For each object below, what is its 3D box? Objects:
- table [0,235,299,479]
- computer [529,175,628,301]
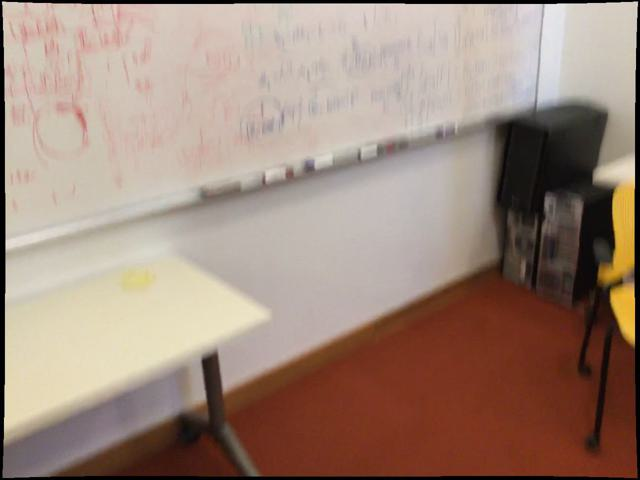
[{"bbox_3d":[-0.929,0.641,1.470,1.649,0.721,0.690,-19,30,-34],"label":"table"},{"bbox_3d":[1.329,-0.020,2.990,0.350,0.520,0.260,-19,30,-34],"label":"computer"}]
